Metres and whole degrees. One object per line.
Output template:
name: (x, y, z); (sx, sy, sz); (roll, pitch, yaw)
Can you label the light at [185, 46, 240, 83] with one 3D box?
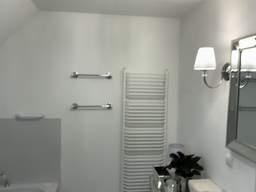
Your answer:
light: (0.600, -0.220, 1.530); (0.320, 0.240, 0.170); (1, 4, -4)
